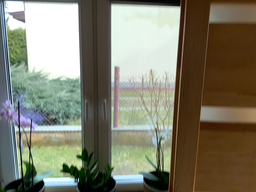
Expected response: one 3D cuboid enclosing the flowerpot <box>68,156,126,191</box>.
[{"bbox_3d":[-0.170,0.550,1.260,0.310,0.310,0.200,1,11,-1],"label":"flowerpot"}]
